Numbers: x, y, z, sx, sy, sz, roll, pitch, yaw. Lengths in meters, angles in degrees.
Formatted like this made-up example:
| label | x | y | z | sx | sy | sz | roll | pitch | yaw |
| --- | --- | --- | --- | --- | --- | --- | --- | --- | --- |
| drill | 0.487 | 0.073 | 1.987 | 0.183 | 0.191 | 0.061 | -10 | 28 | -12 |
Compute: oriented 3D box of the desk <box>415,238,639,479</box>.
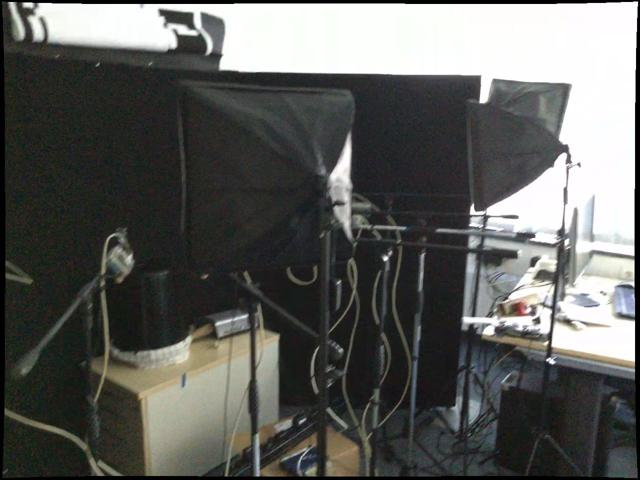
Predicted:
| label | x | y | z | sx | sy | sz | roll | pitch | yaw |
| --- | --- | --- | --- | --- | --- | --- | --- | --- | --- |
| desk | 1.219 | 0.571 | 2.700 | 0.959 | 0.761 | 1.380 | 11 | 18 | 35 |

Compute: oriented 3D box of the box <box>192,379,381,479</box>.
| label | x | y | z | sx | sy | sz | roll | pitch | yaw |
| --- | --- | --- | --- | --- | --- | --- | --- | --- | --- |
| box | -0.120 | 0.881 | 2.280 | 0.500 | 0.340 | 0.540 | 11 | 18 | 35 |
